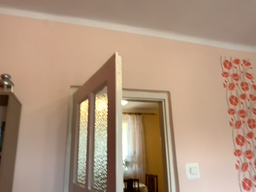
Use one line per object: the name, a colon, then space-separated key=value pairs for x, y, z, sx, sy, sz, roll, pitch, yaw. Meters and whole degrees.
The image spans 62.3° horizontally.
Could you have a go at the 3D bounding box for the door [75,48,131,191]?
door: x=-0.190 y=0.850 z=1.190 sx=0.120 sy=2.010 sz=0.870 roll=5 pitch=-16 yaw=-20
